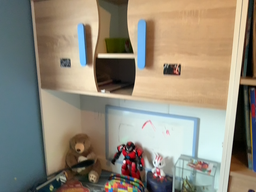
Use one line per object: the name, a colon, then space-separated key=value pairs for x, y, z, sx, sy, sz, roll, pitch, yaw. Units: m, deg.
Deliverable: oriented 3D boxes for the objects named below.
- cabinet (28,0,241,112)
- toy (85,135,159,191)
cabinet: x=0.000 y=-0.270 z=1.100 sx=1.000 sy=0.490 sz=0.370 roll=7 pitch=14 yaw=27
toy: x=-0.030 y=0.450 z=1.320 sx=0.380 sy=0.280 sz=0.250 roll=6 pitch=14 yaw=23
